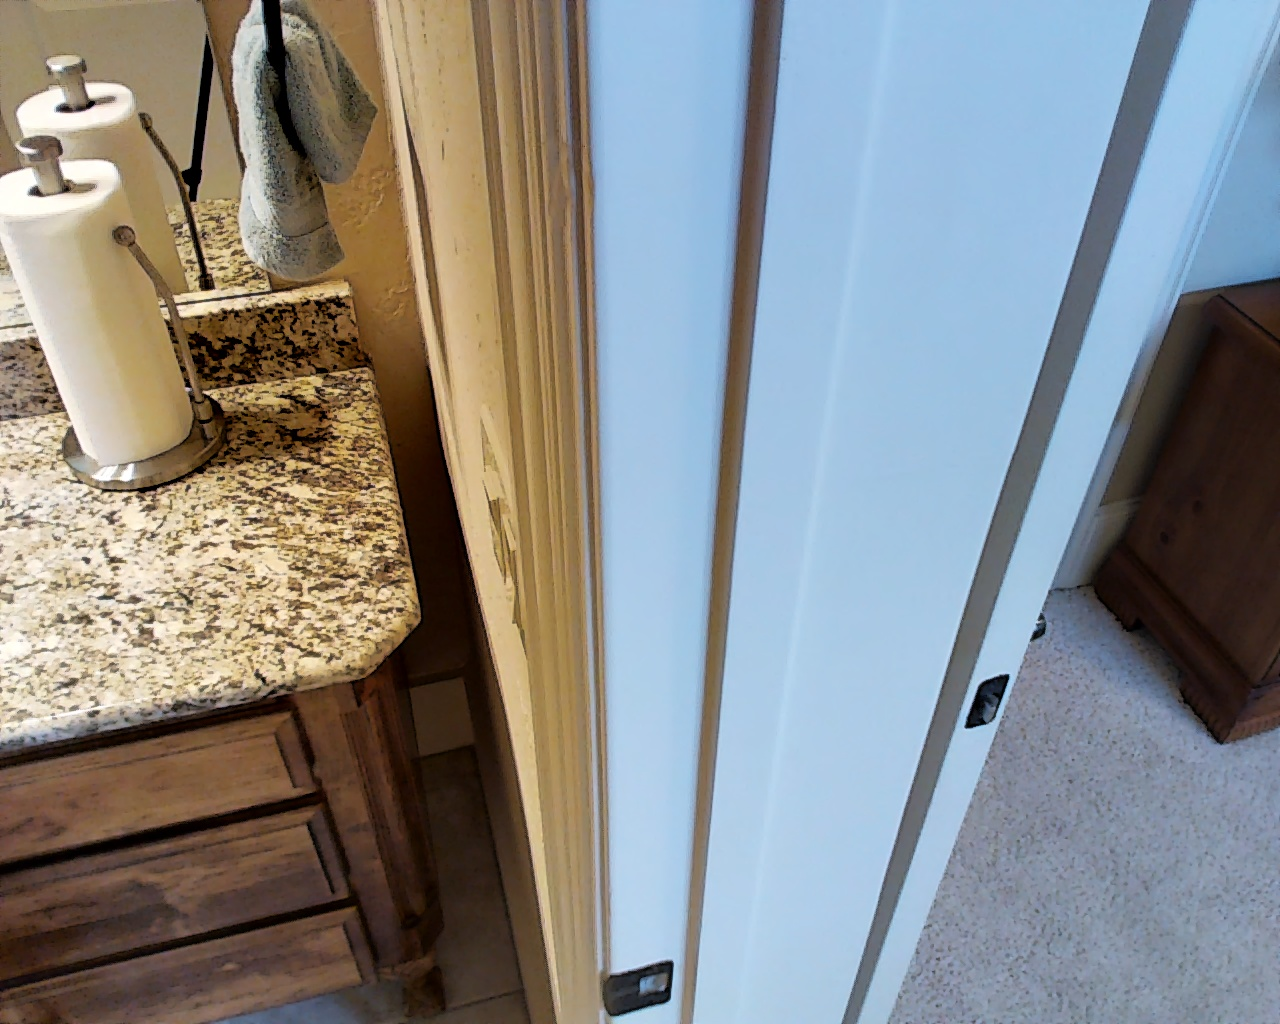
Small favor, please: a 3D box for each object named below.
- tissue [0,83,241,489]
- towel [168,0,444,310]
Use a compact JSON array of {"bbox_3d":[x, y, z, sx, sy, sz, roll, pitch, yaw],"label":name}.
[{"bbox_3d":[-0.530,-0.220,1.080,0.160,0.350,0.160,-10,43,-11],"label":"tissue"},{"bbox_3d":[-0.270,-0.320,0.890,0.120,0.230,0.150,-20,44,-2],"label":"towel"}]
